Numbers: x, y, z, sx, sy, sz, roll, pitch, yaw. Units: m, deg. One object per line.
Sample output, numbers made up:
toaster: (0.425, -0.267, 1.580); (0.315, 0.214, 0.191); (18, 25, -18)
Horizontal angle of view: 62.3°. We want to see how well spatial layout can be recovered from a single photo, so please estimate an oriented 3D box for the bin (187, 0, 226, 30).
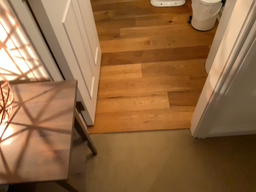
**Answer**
bin: (0.660, -0.760, 1.820); (0.220, 0.290, 0.210); (-3, 56, 2)
